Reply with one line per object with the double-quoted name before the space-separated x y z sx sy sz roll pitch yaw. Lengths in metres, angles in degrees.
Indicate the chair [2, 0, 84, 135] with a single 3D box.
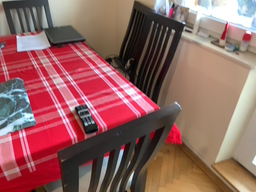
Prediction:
"chair" -0.700 -0.250 1.830 0.350 0.980 0.560 -20 40 -29
